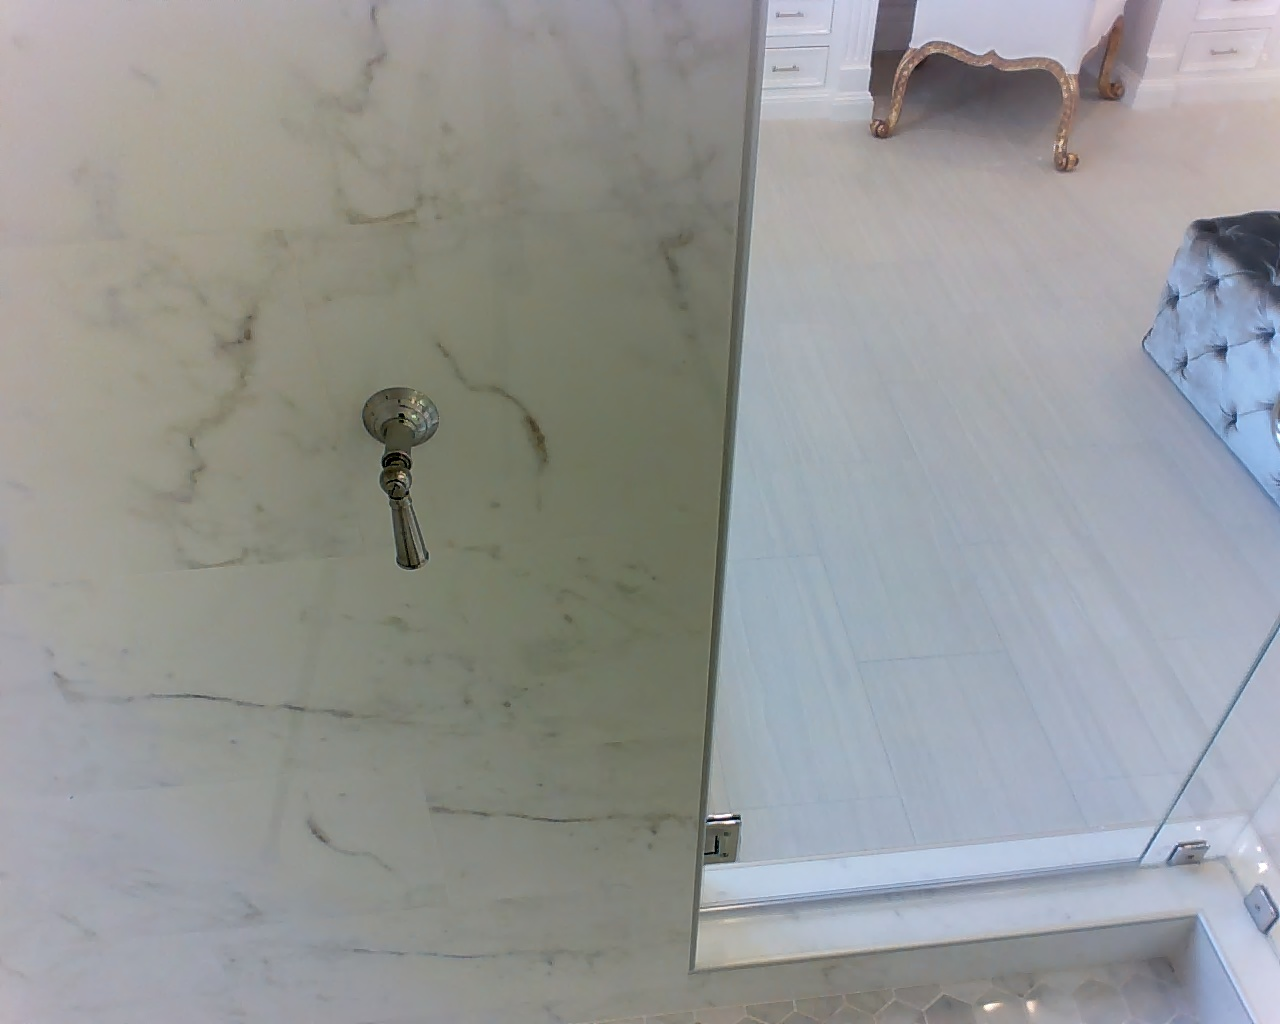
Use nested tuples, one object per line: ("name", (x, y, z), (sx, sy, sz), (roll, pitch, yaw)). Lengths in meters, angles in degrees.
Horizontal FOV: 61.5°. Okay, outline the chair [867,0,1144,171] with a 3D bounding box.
("chair", (1.350, -1.910, 3.740), (0.740, 1.000, 0.890), (19, 47, 21))
